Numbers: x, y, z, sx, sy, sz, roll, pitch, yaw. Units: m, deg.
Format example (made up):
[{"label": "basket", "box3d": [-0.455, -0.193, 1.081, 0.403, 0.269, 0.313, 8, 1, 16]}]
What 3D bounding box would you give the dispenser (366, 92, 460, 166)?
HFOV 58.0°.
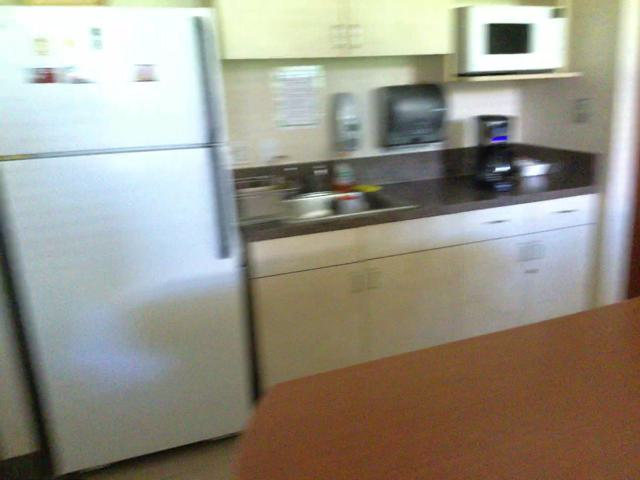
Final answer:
[{"label": "dispenser", "box3d": [0.460, -0.560, 2.880, 0.380, 0.320, 0.250, -8, 16, -17]}]
